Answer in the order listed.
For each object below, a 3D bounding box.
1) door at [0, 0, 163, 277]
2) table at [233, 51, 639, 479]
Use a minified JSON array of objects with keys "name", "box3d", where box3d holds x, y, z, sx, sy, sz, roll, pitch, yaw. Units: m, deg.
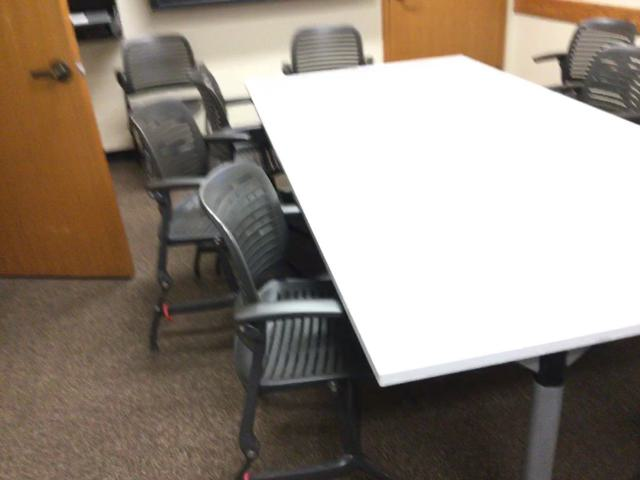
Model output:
[{"name":"door","box3d":[-1.260,-0.680,2.290,0.760,1.790,0.150,-5,27,12]},{"name":"table","box3d":[0.420,-0.080,2.200,1.260,0.780,2.380,-10,26,-7]}]
